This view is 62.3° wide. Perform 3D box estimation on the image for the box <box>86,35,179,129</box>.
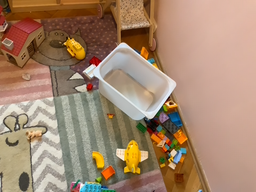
[{"bbox_3d":[0.020,-0.090,1.330,0.450,0.190,0.330,43,64,6],"label":"box"}]
